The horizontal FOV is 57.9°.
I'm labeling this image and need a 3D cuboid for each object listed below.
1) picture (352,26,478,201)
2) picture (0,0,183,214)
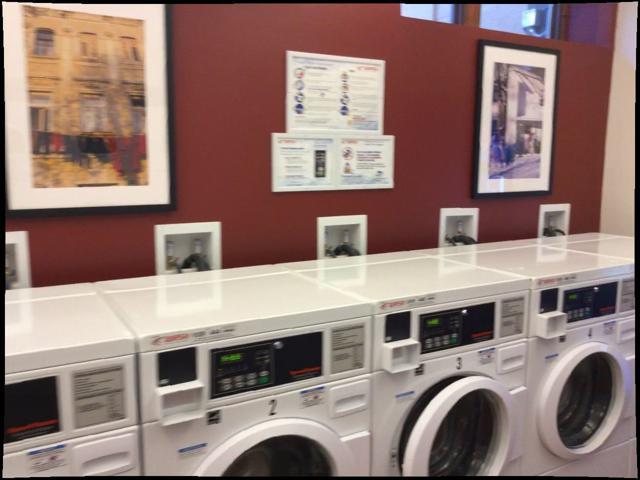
[{"bbox_3d":[0.450,-0.571,2.680,0.659,0.741,0.070,-5,10,-28],"label":"picture"},{"bbox_3d":[-0.799,-0.480,2.010,0.590,0.741,0.090,-5,10,-28],"label":"picture"}]
